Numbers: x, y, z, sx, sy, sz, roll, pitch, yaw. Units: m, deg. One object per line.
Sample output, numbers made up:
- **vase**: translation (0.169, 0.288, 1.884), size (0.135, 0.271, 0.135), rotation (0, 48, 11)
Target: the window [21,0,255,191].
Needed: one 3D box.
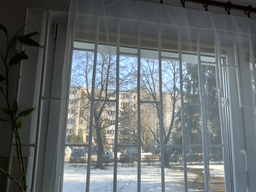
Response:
- **window**: translation (0.510, 0.200, 1.250), size (2.010, 1.880, 0.150), rotation (4, -11, -12)
